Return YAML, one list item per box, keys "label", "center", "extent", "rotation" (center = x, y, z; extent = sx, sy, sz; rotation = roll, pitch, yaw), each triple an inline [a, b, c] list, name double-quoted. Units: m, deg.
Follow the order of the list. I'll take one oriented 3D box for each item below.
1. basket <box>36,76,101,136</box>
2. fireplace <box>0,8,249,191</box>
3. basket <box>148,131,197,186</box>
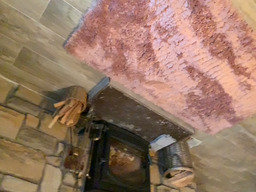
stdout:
- label: "basket"
  center: [-0.440, 0.090, 1.610]
  extent: [0.330, 0.220, 0.320]
  rotation: [30, 131, -29]
- label: "fireplace"
  center: [-0.130, 0.650, 1.750]
  extent: [2.290, 0.990, 1.140]
  rotation: [29, 131, -29]
- label: "basket"
  center: [0.440, 0.640, 2.150]
  extent: [0.300, 0.380, 0.320]
  rotation: [32, 129, -31]
